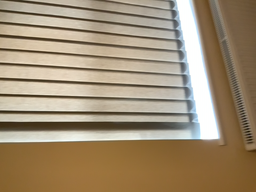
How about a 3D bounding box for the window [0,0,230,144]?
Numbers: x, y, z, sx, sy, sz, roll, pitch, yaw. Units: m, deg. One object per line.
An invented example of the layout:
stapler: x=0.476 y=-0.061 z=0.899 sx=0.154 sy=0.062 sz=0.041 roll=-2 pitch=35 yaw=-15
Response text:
window: x=-0.180 y=-0.290 z=1.120 sx=0.020 sy=1.380 sz=1.050 roll=123 pitch=146 yaw=-64
